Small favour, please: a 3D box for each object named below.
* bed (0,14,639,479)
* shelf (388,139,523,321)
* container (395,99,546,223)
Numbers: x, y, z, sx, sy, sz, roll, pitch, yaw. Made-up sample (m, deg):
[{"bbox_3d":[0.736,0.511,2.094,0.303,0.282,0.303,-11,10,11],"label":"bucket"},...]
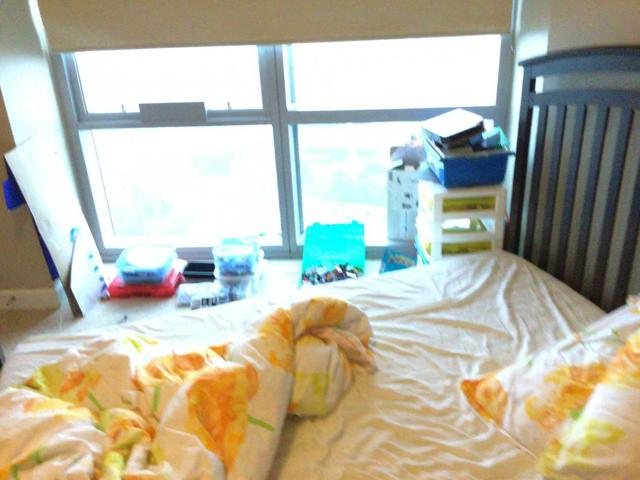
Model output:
[{"bbox_3d":[0.050,0.210,1.440,2.050,1.270,1.630,-7,26,-13],"label":"bed"},{"bbox_3d":[0.560,-0.060,2.530,0.370,0.640,0.430,-7,26,-13],"label":"shelf"},{"bbox_3d":[0.600,-0.350,2.420,0.410,0.360,0.460,-7,26,-13],"label":"container"}]
